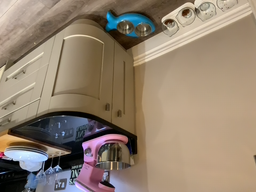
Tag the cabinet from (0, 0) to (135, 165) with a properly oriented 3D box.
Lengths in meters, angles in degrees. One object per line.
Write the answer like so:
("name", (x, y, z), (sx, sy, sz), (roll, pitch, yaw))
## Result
("cabinet", (-0.600, -0.010, 1.790), (1.140, 0.910, 0.610), (-20, 145, 30))
